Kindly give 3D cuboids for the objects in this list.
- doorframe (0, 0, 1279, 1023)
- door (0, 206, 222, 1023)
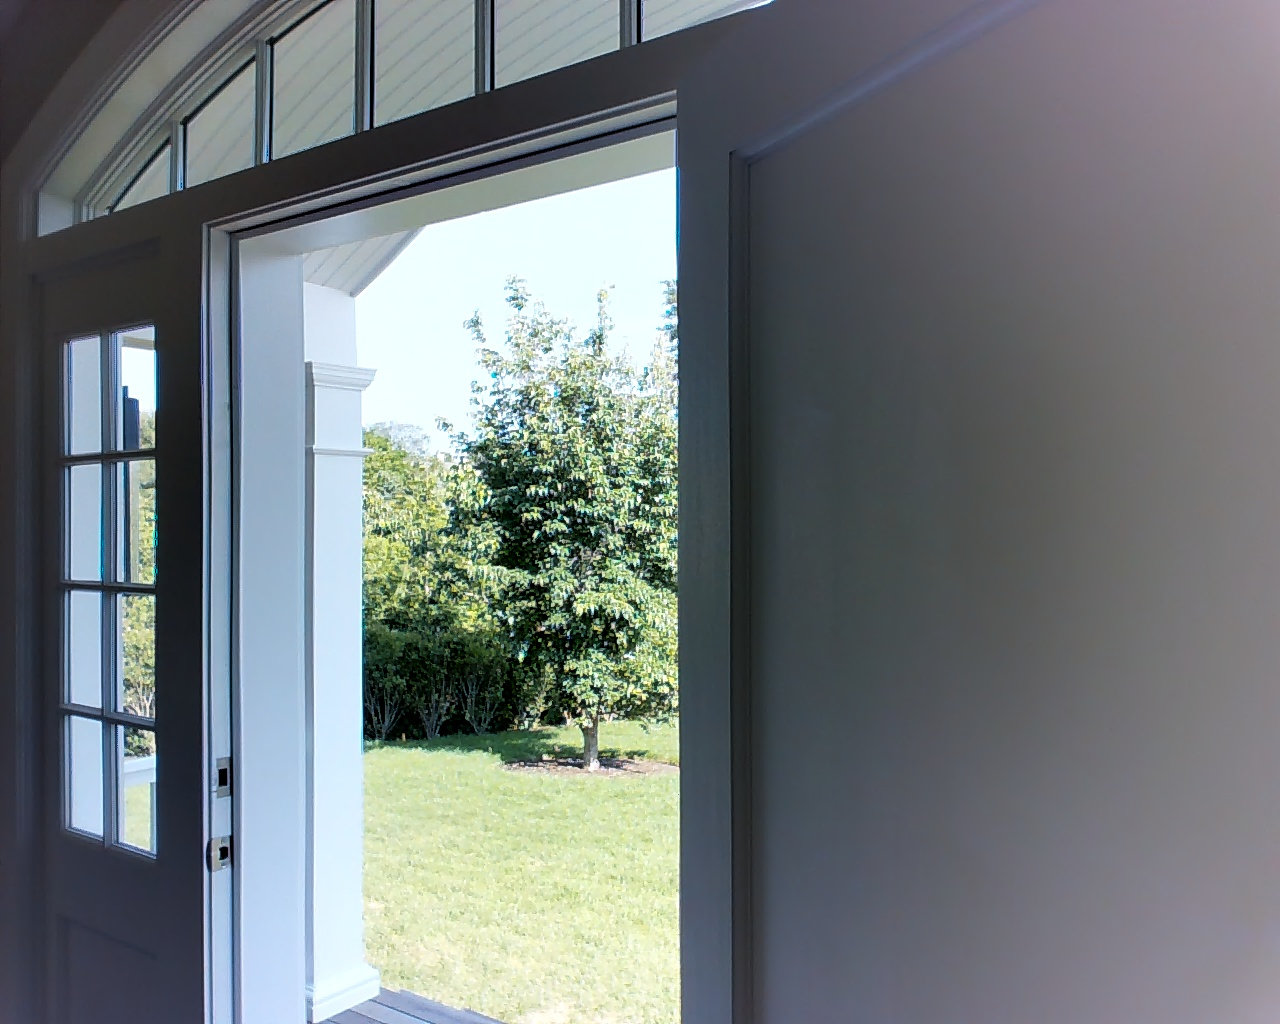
[{"bbox_3d":[-0.390,0.290,1.760,2.740,2.500,0.170,-1,-1,36],"label":"doorframe"},{"bbox_3d":[-1.110,0.490,2.170,0.810,2.060,0.070,-1,-1,36],"label":"door"}]
